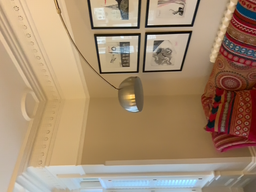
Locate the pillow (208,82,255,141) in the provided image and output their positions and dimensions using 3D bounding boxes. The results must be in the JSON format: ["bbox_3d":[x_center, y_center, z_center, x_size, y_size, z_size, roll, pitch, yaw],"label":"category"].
[{"bbox_3d":[1.130,0.170,2.260,0.180,0.410,0.520,0,74,68],"label":"pillow"}]
